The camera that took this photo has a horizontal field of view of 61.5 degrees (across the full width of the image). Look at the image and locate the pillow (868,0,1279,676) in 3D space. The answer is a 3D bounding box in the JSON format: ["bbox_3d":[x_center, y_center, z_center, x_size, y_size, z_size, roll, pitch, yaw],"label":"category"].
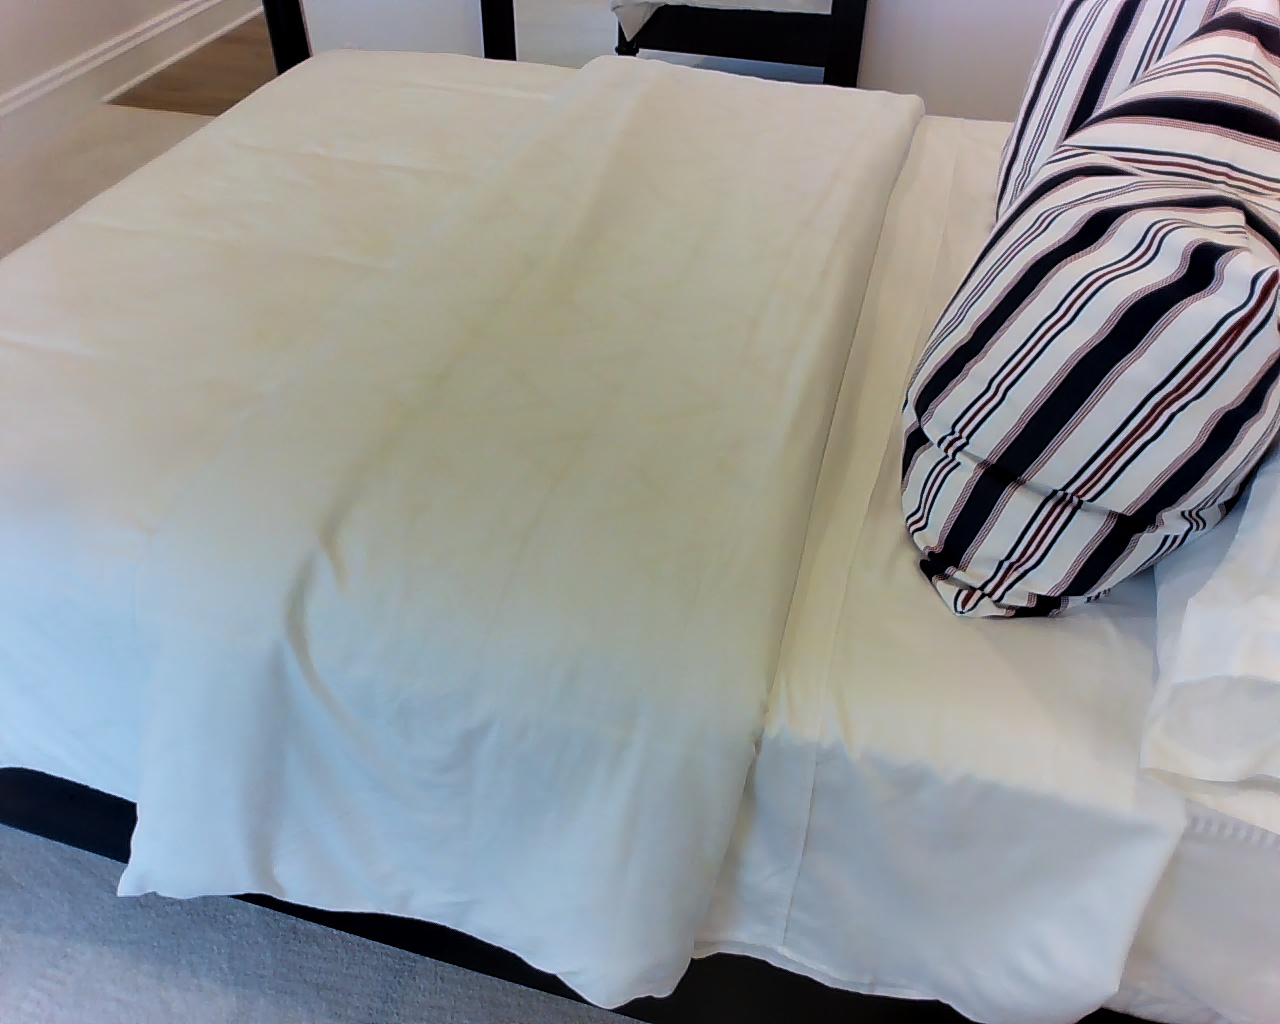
[{"bbox_3d":[0.470,-0.200,1.050,0.280,0.460,0.490,7,42,32],"label":"pillow"}]
